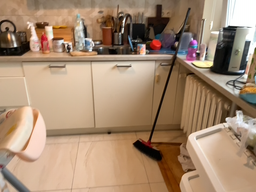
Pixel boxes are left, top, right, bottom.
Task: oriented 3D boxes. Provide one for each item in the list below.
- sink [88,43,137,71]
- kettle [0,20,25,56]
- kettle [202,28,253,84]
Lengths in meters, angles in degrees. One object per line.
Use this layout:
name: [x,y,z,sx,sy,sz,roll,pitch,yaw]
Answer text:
sink: [-0.170,-0.420,2.220,0.450,0.170,0.520,-1,24,-7]
kettle: [-1.100,-0.530,1.930,0.210,0.300,0.140,-1,24,-6]
kettle: [0.680,-0.280,1.480,0.200,0.360,0.160,-2,24,-8]
